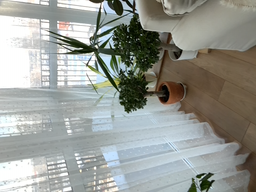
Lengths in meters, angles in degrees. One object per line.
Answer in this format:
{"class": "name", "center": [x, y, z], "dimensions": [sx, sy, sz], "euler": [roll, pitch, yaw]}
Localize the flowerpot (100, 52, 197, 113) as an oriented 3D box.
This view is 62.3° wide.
{"class": "flowerpot", "center": [0.160, -0.170, 2.130], "dimensions": [0.680, 0.670, 0.350], "euler": [-135, 48, -55]}
